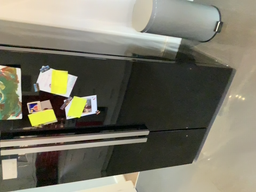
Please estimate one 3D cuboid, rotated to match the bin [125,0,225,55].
[{"bbox_3d":[0.360,-0.610,1.740,0.420,0.590,0.360,51,134,52],"label":"bin"}]
